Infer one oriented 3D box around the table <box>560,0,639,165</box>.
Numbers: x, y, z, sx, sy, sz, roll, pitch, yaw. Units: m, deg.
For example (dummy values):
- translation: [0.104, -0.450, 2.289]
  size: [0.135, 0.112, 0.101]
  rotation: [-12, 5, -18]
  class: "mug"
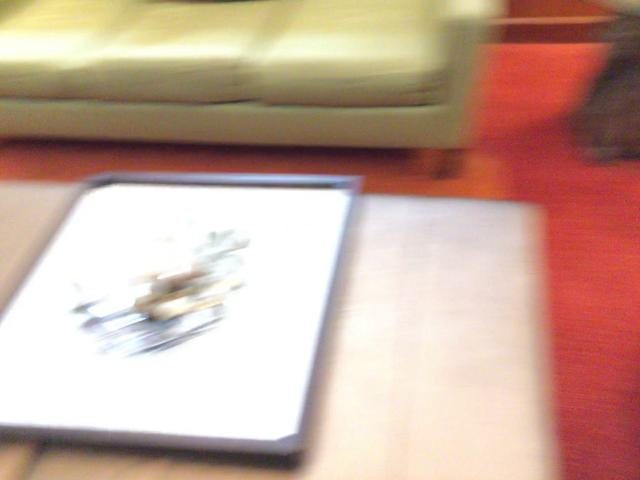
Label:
- translation: [1.120, -0.610, 1.910]
  size: [0.450, 0.590, 0.410]
  rotation: [4, 46, 9]
  class: "table"
